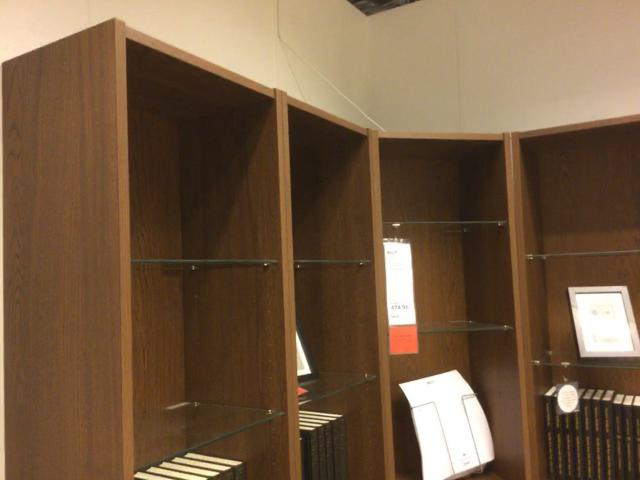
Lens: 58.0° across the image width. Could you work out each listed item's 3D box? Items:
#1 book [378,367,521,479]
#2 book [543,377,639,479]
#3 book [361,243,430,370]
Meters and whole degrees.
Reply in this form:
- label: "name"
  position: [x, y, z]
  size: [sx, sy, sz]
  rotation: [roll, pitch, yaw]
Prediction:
- label: "book"
  position: [0.350, 0.530, 1.620]
  size: [0.310, 0.280, 0.260]
  rotation: [-3, -3, -6]
- label: "book"
  position: [0.950, 0.500, 1.370]
  size: [0.740, 0.270, 0.220]
  rotation: [-5, -4, 32]
- label: "book"
  position: [0.190, 0.160, 1.450]
  size: [0.130, 0.300, 0.090]
  rotation: [0, -5, -44]
